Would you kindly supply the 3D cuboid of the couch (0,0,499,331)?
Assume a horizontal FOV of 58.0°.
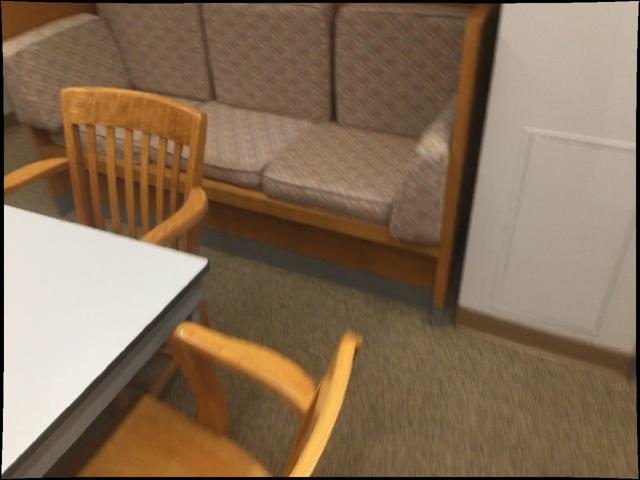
[{"bbox_3d":[-0.329,-0.441,2.260,1.817,1.012,0.650,10,34,23],"label":"couch"}]
